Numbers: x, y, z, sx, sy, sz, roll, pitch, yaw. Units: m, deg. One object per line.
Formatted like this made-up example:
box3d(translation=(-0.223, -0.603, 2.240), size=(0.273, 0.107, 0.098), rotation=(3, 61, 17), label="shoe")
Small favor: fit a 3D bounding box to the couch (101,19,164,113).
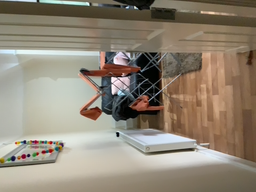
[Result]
box3d(translation=(0.030, -0.440, 3.730), size=(0.830, 0.870, 1.430), rotation=(165, 103, -74), label="couch")
